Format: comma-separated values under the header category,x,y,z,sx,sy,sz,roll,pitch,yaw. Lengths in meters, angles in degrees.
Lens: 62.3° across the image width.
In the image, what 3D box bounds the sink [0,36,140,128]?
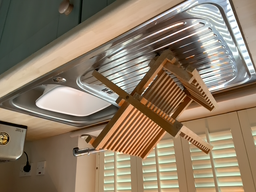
category,x,y,z,sx,sy,sz,roll,pitch,yaw
sink,-0.260,-0.010,1.020,0.440,0.170,0.480,-17,153,32
